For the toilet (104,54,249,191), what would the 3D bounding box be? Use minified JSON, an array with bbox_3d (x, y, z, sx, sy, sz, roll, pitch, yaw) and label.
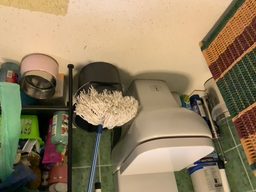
[{"bbox_3d":[0.150,0.310,1.090,0.380,0.780,0.620,2,149,-18],"label":"toilet"}]
